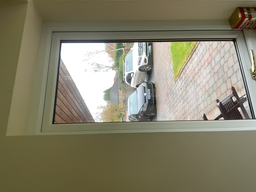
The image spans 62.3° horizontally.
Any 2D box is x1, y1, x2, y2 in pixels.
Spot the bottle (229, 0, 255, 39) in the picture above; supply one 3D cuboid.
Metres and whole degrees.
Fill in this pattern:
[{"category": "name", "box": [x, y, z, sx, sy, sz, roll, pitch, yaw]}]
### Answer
[{"category": "bottle", "box": [0.710, -0.440, 1.190, 0.170, 0.180, 0.170, 102, 168, -79]}]
